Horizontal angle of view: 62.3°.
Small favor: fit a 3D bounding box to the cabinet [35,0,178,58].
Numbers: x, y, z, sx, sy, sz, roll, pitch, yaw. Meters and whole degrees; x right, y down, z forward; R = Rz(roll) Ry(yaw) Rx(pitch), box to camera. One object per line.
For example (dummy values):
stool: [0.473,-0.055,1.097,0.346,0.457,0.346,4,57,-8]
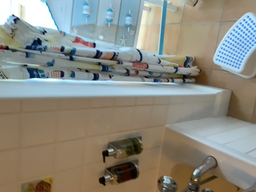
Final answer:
cabinet: [-0.080,-0.500,1.380,0.200,0.930,0.390,24,110,47]
